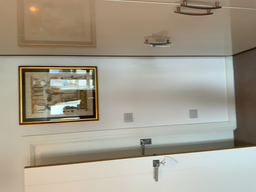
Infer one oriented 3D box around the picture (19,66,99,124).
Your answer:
[{"bbox_3d":[-0.590,-0.020,1.860,0.050,0.650,0.480,177,91,-77],"label":"picture"}]
